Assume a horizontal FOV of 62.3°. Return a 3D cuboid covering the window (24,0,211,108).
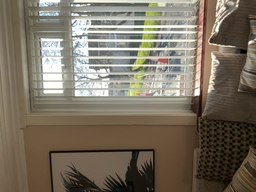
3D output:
[{"bbox_3d":[-0.090,-0.690,2.090,0.230,1.710,1.610,-99,9,-79],"label":"window"}]
